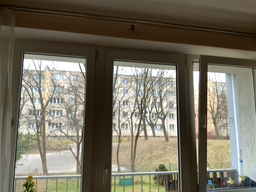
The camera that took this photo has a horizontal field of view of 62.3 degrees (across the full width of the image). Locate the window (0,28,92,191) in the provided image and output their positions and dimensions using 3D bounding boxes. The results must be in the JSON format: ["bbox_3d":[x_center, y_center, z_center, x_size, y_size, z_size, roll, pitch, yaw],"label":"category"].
[{"bbox_3d":[-1.060,0.200,1.790,1.430,1.510,0.240,3,-9,-12],"label":"window"}]

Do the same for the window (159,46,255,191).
[{"bbox_3d":[0.920,0.300,2.400,1.020,1.540,0.450,3,-9,-13],"label":"window"}]
